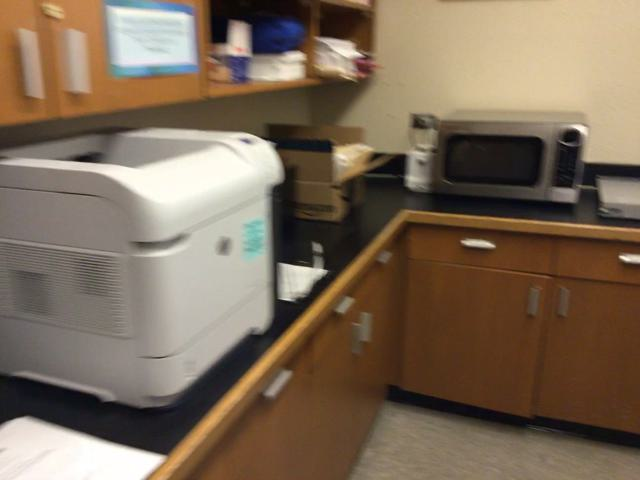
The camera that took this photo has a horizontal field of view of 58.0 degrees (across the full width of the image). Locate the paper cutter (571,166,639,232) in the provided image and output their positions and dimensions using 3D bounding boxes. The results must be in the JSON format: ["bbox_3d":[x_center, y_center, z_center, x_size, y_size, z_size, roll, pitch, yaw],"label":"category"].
[{"bbox_3d":[1.160,-0.150,2.000,0.510,0.100,0.580,4,18,20],"label":"paper cutter"}]

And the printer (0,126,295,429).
[{"bbox_3d":[-0.420,0.010,1.140,0.590,0.410,0.460,4,18,20],"label":"printer"}]

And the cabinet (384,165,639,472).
[{"bbox_3d":[1.070,0.250,2.130,1.550,0.910,0.630,4,18,20],"label":"cabinet"}]
